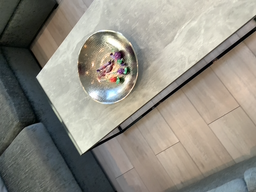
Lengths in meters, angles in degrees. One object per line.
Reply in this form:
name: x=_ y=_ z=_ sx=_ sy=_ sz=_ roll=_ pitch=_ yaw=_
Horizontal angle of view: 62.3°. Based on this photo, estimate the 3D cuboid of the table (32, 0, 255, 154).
table: x=0.040 y=-0.220 z=1.090 sx=0.990 sy=0.420 sz=0.510 roll=-41 pitch=77 yaw=28
